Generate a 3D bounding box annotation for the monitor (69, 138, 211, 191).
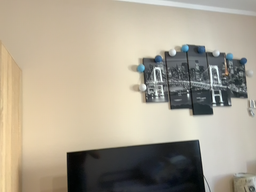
[{"bbox_3d":[0.110,0.600,1.360,0.930,0.570,0.070,-1,-9,-17],"label":"monitor"}]
